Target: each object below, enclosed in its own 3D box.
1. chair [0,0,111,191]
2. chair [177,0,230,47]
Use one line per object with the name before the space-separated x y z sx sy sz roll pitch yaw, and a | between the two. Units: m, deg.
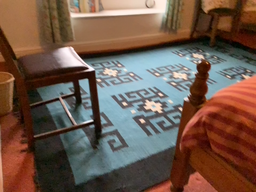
chair | -0.450 -0.090 1.050 0.560 0.790 0.490 -16 34 -29
chair | 1.160 -1.320 3.250 0.410 0.970 0.520 -15 34 -27
